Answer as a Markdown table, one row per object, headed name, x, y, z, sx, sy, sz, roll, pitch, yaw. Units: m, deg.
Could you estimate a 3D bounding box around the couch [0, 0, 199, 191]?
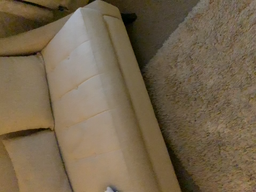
| name | x | y | z | sx | sy | sz | roll | pitch | yaw |
| --- | --- | --- | --- | --- | --- | --- | --- | --- | --- |
| couch | -0.350 | 0.400 | 1.230 | 0.960 | 0.950 | 1.740 | -27 | 78 | 38 |
